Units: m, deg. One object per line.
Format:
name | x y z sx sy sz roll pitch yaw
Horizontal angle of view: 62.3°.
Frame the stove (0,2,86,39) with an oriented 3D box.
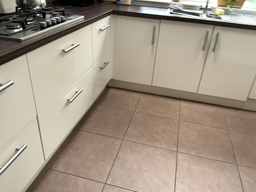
stove | -0.680 -0.520 1.370 0.550 0.050 0.730 11 31 10
